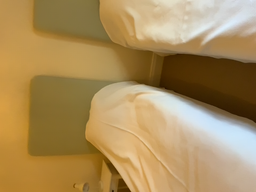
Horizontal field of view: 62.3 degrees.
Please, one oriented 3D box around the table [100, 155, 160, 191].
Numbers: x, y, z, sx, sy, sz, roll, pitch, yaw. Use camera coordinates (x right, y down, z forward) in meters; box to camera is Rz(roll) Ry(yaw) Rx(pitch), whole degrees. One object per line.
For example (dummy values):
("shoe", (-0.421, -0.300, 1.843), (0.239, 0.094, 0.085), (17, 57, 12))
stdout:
("table", (0.010, 1.080, 2.800), (0.410, 0.640, 0.410), (-147, 63, -64))
